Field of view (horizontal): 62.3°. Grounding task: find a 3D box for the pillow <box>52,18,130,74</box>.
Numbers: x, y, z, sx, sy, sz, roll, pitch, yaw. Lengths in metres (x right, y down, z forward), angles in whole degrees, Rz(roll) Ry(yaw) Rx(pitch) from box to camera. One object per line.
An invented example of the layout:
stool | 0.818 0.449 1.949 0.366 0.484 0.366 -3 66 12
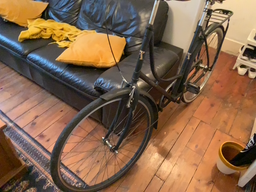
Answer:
pillow | -0.270 -0.430 1.730 0.470 0.130 0.500 12 45 6
